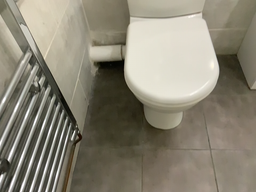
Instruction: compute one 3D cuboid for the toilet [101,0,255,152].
[{"bbox_3d":[0.180,-0.230,0.960,0.400,0.790,0.680,-1,52,4],"label":"toilet"}]
